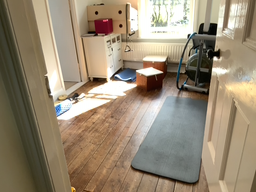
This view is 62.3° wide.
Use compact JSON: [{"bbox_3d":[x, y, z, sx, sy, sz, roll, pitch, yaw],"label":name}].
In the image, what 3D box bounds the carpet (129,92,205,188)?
[{"bbox_3d":[0.580,0.340,2.570,0.640,0.030,1.770,5,26,17],"label":"carpet"}]
